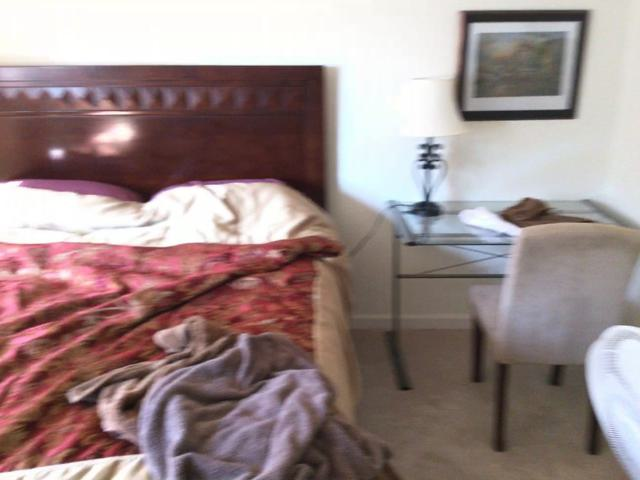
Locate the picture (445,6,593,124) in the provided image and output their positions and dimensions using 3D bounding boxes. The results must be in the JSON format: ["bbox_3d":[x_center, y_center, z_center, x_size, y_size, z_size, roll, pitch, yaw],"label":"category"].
[{"bbox_3d":[0.860,-0.760,2.530,0.580,0.480,0.050,1,15,1],"label":"picture"}]

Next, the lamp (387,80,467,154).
[{"bbox_3d":[0.450,-0.540,2.500,0.280,0.270,0.310,1,20,1],"label":"lamp"}]
